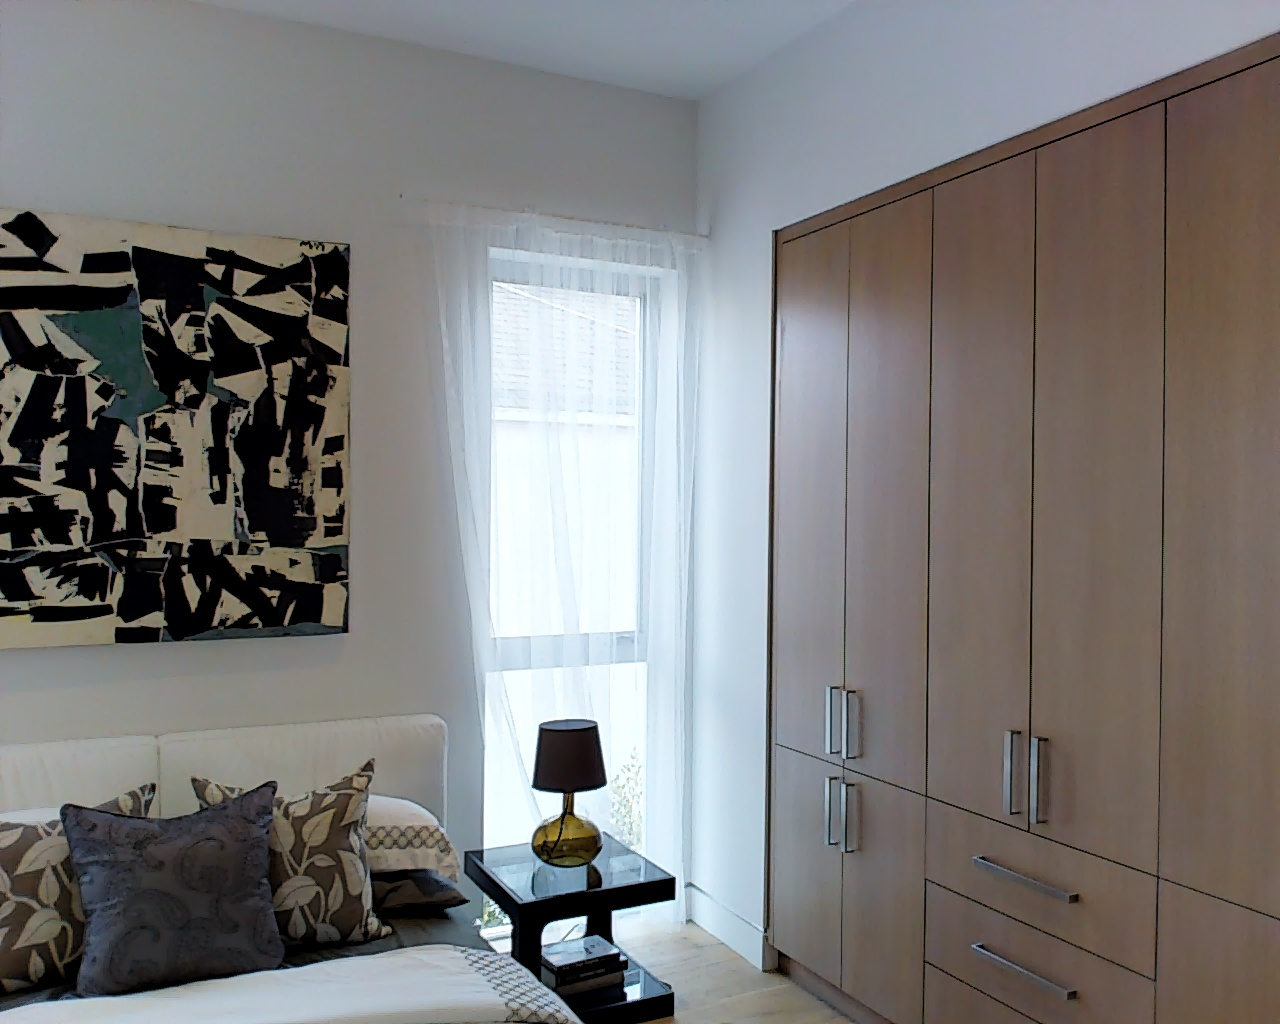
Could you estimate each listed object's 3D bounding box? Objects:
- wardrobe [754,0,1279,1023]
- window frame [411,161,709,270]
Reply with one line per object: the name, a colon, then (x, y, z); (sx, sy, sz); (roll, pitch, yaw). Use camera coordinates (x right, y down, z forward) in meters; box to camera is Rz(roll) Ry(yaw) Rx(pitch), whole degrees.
wardrobe: (0.960, 0.280, 2.580); (0.080, 2.501, 2.330); (0, 0, -27)
window frame: (-0.250, -1.010, 3.720); (1.070, 0.210, 0.100); (0, 0, -27)
